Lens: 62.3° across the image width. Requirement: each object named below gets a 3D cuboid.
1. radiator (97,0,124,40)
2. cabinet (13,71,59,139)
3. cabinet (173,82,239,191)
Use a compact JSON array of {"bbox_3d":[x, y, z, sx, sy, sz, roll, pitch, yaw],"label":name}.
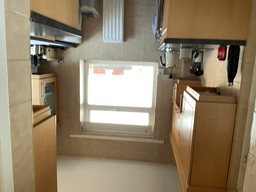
[{"bbox_3d":[-0.240,-1.210,2.970,0.350,0.800,0.150,3,-169,3],"label":"radiator"},{"bbox_3d":[-1.290,0.090,3.070,0.330,0.860,0.600,3,-169,4],"label":"cabinet"},{"bbox_3d":[0.670,0.360,1.990,0.340,0.900,0.640,3,-169,5],"label":"cabinet"}]
